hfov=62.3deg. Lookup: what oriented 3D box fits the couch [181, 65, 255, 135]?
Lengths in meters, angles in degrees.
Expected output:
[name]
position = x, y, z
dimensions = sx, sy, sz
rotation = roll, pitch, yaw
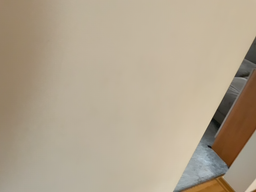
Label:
[couch]
position = 1.180, 0.010, 2.530
dimensions = 0.740, 0.540, 0.560
rotation = -6, 38, -29
